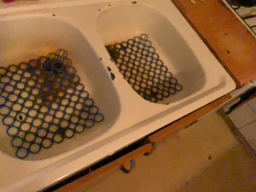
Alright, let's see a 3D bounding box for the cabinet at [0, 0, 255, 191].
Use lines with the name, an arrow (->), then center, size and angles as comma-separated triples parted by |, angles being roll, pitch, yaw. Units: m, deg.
cabinet -> -0.080, -0.010, 1.060 | 1.100, 0.830, 0.630 | -22, 71, -31
